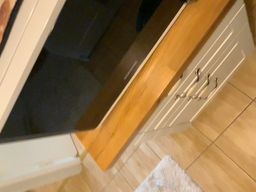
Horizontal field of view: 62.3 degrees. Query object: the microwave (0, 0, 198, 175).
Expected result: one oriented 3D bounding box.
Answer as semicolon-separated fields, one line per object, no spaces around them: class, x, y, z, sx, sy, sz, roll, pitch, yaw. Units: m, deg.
microwave;-0.190;-0.220;0.480;0.490;0.290;0.550;45;110;26
